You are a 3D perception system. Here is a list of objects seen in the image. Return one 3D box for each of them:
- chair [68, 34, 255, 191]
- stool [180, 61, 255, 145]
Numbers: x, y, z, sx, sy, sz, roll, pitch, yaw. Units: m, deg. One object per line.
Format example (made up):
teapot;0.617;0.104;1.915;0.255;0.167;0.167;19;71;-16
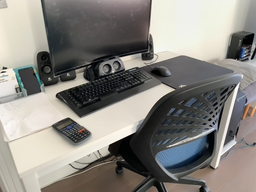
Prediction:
chair;0.190;0.230;1.180;0.690;0.930;0.640;-21;35;-33
stool;0.900;0.020;1.980;0.550;0.470;0.530;-19;34;-30
